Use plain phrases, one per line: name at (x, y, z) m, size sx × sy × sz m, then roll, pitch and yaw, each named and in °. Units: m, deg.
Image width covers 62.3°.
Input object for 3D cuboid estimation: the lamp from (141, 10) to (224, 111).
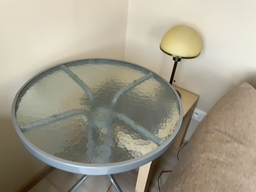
lamp at (0.270, -0.190, 1.130) m, size 0.270 × 0.420 × 0.220 m, roll 26°, pitch 42°, yaw 24°
